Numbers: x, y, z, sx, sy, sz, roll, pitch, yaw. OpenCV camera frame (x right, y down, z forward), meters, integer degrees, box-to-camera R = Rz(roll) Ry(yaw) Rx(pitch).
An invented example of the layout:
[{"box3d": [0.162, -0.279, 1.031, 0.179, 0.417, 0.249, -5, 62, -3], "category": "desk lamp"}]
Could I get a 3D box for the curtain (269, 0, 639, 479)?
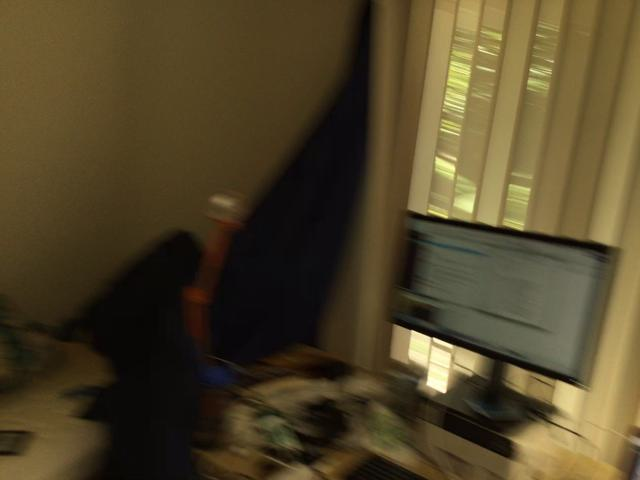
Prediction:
[{"box3d": [0.840, 0.240, 1.480, 2.060, 2.250, 0.310, 14, 12, 34], "category": "curtain"}]
